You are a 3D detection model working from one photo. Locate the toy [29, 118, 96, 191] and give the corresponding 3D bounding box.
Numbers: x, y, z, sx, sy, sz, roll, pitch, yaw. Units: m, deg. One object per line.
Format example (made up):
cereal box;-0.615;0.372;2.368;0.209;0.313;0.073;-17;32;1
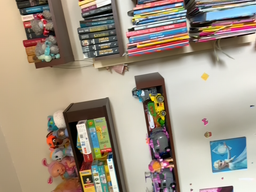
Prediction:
toy;-0.430;0.500;1.480;0.220;0.270;0.620;-81;-18;-79
